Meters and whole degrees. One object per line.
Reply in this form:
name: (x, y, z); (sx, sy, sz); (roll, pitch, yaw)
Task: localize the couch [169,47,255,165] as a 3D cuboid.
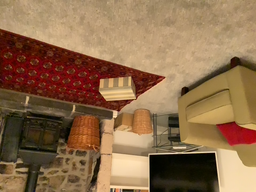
couch: (1.070, 0.200, 2.050); (0.990, 0.780, 0.800); (11, 155, -22)

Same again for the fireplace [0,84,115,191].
fireplace: (-1.280, 0.860, 2.540); (2.020, 1.700, 0.790); (12, 155, -23)
